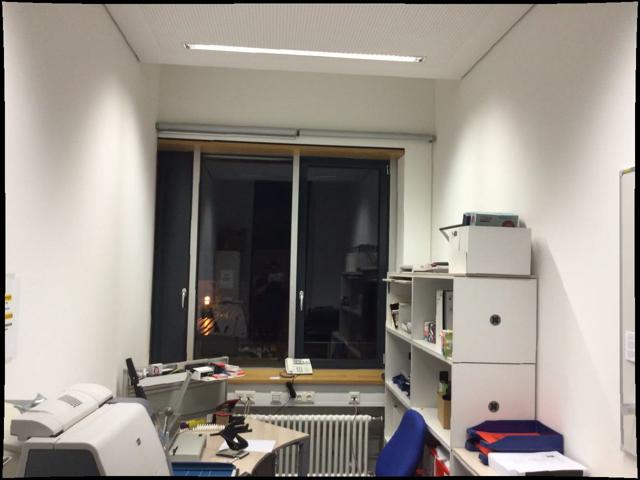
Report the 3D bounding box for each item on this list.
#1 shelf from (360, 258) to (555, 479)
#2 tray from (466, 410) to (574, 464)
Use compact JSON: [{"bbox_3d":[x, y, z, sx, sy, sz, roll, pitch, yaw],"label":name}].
[{"bbox_3d":[0.679,0.971,3.450,0.500,1.692,1.780,3,-2,-6],"label":"shelf"},{"bbox_3d":[0.859,0.851,2.510,0.360,0.150,0.260,3,-2,-6],"label":"tray"}]
